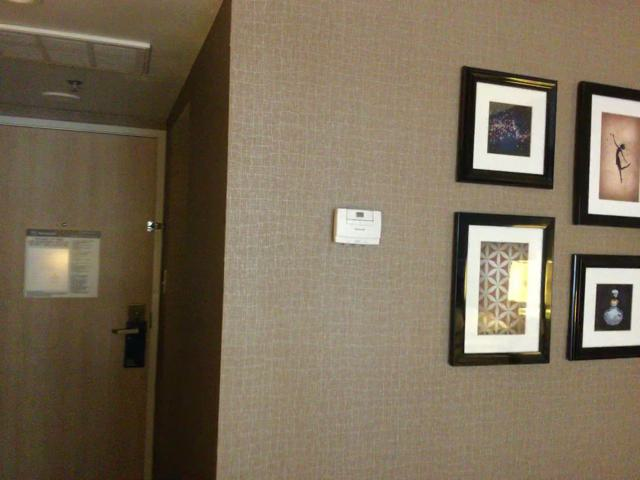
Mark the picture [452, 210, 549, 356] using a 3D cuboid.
[{"bbox_3d":[0.490,0.120,1.560,0.270,0.380,0.020,4,-2,-17],"label":"picture"}]

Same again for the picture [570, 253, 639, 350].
[{"bbox_3d":[0.850,0.180,1.670,0.270,0.270,0.030,4,-2,-17],"label":"picture"}]

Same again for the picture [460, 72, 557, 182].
[{"bbox_3d":[0.510,-0.300,1.560,0.270,0.260,0.030,4,-2,-17],"label":"picture"}]

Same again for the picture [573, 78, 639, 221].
[{"bbox_3d":[0.870,-0.250,1.660,0.290,0.380,0.040,4,-2,-17],"label":"picture"}]
